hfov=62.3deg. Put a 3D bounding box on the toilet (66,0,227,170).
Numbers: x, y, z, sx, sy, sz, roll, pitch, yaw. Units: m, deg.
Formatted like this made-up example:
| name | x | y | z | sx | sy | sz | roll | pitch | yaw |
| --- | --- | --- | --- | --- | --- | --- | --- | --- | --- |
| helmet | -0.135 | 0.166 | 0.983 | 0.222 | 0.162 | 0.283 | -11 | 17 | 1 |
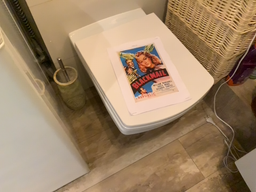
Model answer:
| name | x | y | z | sx | sy | sz | roll | pitch | yaw |
| --- | --- | --- | --- | --- | --- | --- | --- | --- | --- |
| toilet | 0.040 | -0.040 | 0.970 | 0.380 | 0.450 | 0.520 | -24 | 62 | -14 |
